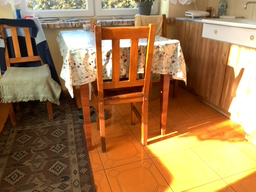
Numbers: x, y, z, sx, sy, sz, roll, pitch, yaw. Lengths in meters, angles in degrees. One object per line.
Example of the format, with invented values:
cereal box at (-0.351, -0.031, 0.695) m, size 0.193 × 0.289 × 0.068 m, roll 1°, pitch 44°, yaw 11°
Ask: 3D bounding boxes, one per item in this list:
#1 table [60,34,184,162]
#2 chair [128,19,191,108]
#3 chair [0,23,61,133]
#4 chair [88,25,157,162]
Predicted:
table at (-0.190, -0.150, 2.060) m, size 0.770 × 0.710 × 1.320 m, roll -8°, pitch 24°, yaw -17°
chair at (0.310, -0.410, 2.470) m, size 0.450 × 0.870 × 0.630 m, roll -8°, pitch 24°, yaw -17°
chair at (-0.950, -0.220, 2.030) m, size 0.410 × 0.850 × 0.660 m, roll -10°, pitch 25°, yaw -21°
chair at (-0.060, -0.040, 1.560) m, size 0.370 × 0.870 × 0.450 m, roll -5°, pitch 24°, yaw -12°
